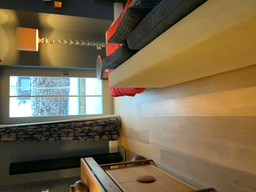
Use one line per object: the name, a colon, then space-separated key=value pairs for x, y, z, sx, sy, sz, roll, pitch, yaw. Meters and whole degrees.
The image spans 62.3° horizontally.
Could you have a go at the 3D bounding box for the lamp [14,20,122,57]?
lamp: x=-0.990 y=-0.960 z=3.700 sx=0.370 sy=1.730 sz=0.380 roll=164 pitch=105 yaw=-69

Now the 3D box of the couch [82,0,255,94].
couch: x=0.060 y=-0.640 z=2.270 sx=2.280 sy=0.750 sz=1.130 roll=173 pitch=96 yaw=-69
